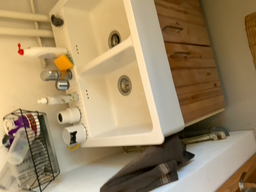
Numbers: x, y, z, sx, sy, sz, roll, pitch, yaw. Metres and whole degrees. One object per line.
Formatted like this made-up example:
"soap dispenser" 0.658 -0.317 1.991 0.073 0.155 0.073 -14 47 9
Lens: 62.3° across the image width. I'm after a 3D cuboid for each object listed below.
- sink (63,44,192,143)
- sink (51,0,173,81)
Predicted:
"sink" -0.070 0.030 1.150 0.750 0.170 0.390 -12 88 46
"sink" -0.150 -0.370 1.170 0.750 0.170 0.410 -14 87 46
